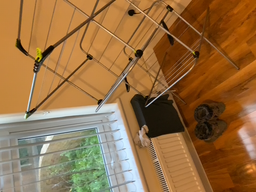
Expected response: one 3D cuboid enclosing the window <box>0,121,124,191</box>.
[{"bbox_3d":[-0.760,0.630,1.380,0.060,1.550,0.780,-45,56,50],"label":"window"}]
